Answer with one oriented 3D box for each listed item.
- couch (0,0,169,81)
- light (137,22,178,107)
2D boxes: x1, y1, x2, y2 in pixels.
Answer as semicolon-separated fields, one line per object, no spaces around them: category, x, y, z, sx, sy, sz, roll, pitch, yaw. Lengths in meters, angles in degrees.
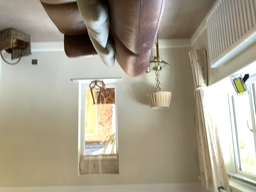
couch;-0.310;-0.740;1.770;0.920;0.880;1.570;-1;171;-2
light;0.410;-0.450;3.130;0.500;1.190;0.330;-2;171;0
